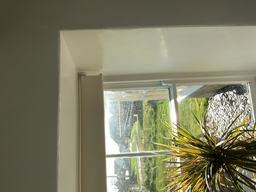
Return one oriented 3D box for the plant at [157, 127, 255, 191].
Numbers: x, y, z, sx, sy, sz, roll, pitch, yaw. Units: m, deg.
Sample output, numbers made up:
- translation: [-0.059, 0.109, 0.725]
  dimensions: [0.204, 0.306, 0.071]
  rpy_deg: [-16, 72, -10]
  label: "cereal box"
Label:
- translation: [0.530, 0.350, 1.050]
  dimensions: [0.230, 0.710, 0.370]
  rpy_deg: [104, 164, -80]
  label: "plant"
